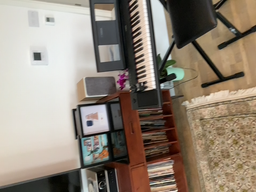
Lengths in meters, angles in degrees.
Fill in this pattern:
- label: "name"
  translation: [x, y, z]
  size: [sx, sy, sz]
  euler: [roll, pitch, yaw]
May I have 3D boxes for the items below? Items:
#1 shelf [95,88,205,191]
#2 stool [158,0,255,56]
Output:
- label: "shelf"
  translation: [0.180, 0.520, 1.890]
  size: [0.540, 0.680, 1.070]
  euler: [-17, 79, 59]
- label: "stool"
  translation: [0.520, -0.500, 1.360]
  size: [0.330, 0.490, 0.360]
  euler: [-23, 74, 58]
